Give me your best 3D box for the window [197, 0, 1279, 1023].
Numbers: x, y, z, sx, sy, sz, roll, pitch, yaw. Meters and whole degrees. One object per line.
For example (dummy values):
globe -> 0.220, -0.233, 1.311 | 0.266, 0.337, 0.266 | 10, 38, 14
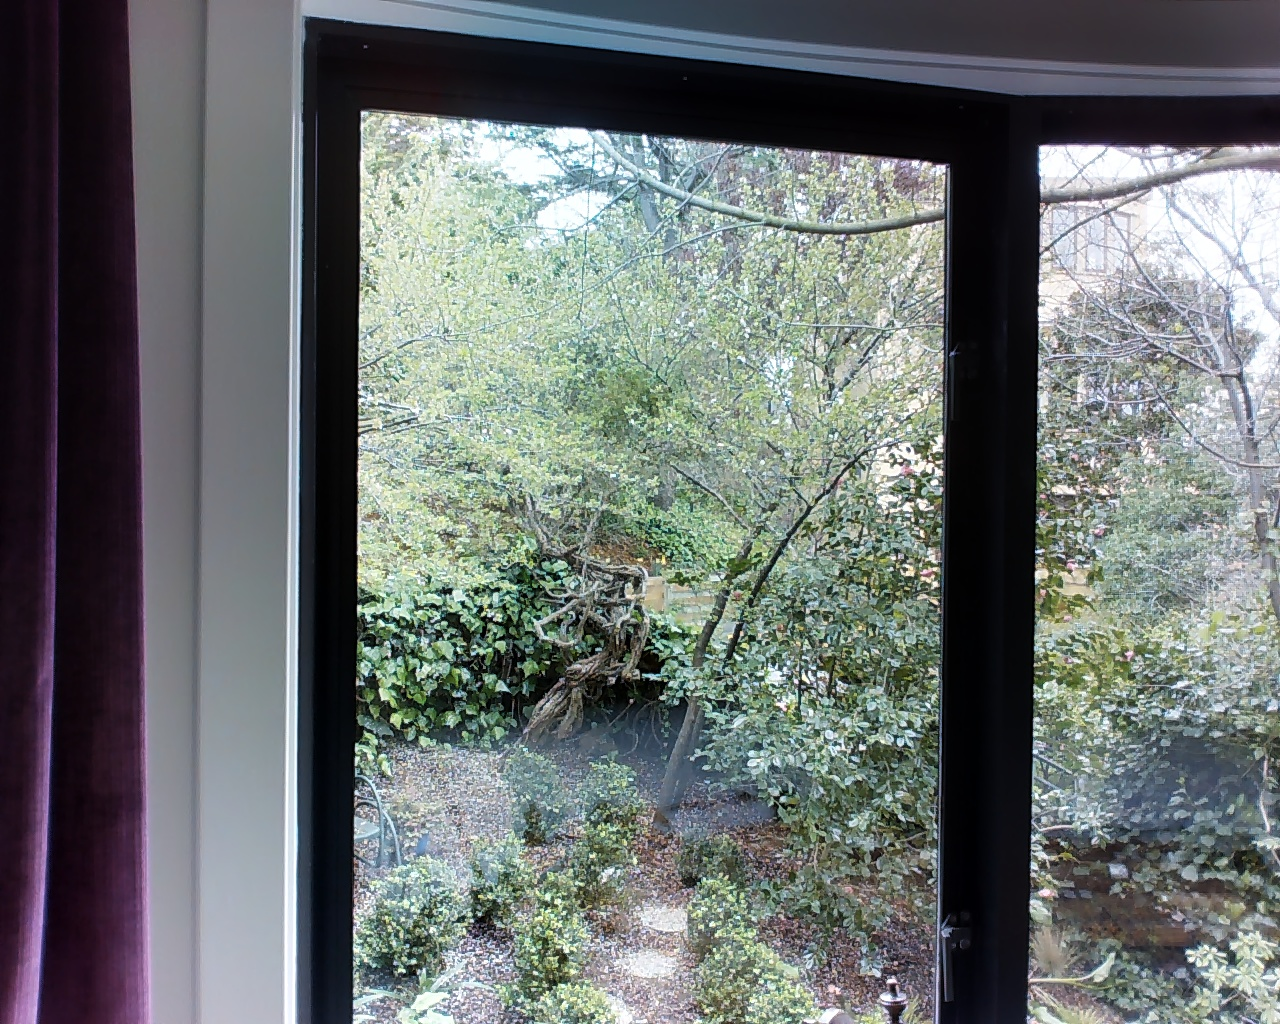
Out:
window -> 0.940, 0.160, 1.270 | 2.760, 1.700, 0.490 | 0, 1, 3
